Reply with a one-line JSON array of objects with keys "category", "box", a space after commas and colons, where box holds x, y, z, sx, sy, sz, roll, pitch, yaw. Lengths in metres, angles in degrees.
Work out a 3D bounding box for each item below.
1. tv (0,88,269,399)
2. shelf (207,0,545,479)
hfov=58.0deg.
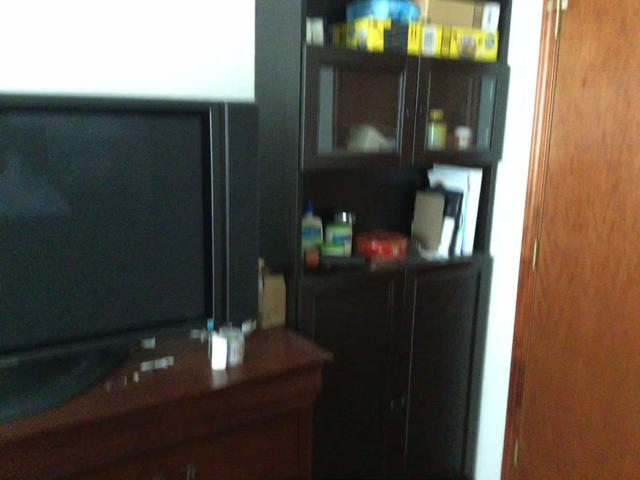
[{"category": "tv", "box": [-0.660, 0.000, 1.260, 1.120, 0.630, 0.190, -7, 12, -32]}, {"category": "shelf", "box": [0.190, 0.090, 1.900, 0.950, 1.970, 0.440, -7, 12, -32]}]
